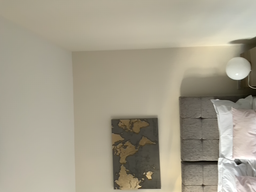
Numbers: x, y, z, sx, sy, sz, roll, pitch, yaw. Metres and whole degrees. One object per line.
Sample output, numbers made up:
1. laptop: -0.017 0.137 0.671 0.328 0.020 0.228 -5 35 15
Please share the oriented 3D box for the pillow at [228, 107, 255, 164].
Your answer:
1. pillow: 1.220 0.400 2.230 0.120 0.280 0.560 172 99 -73
